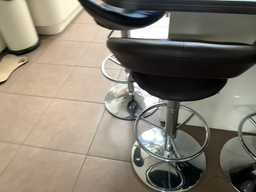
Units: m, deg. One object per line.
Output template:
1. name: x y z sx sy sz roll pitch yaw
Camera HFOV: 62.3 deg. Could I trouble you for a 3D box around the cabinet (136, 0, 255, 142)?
1. cabinet: 0.540 -0.270 1.270 0.930 0.910 0.630 3 43 6
